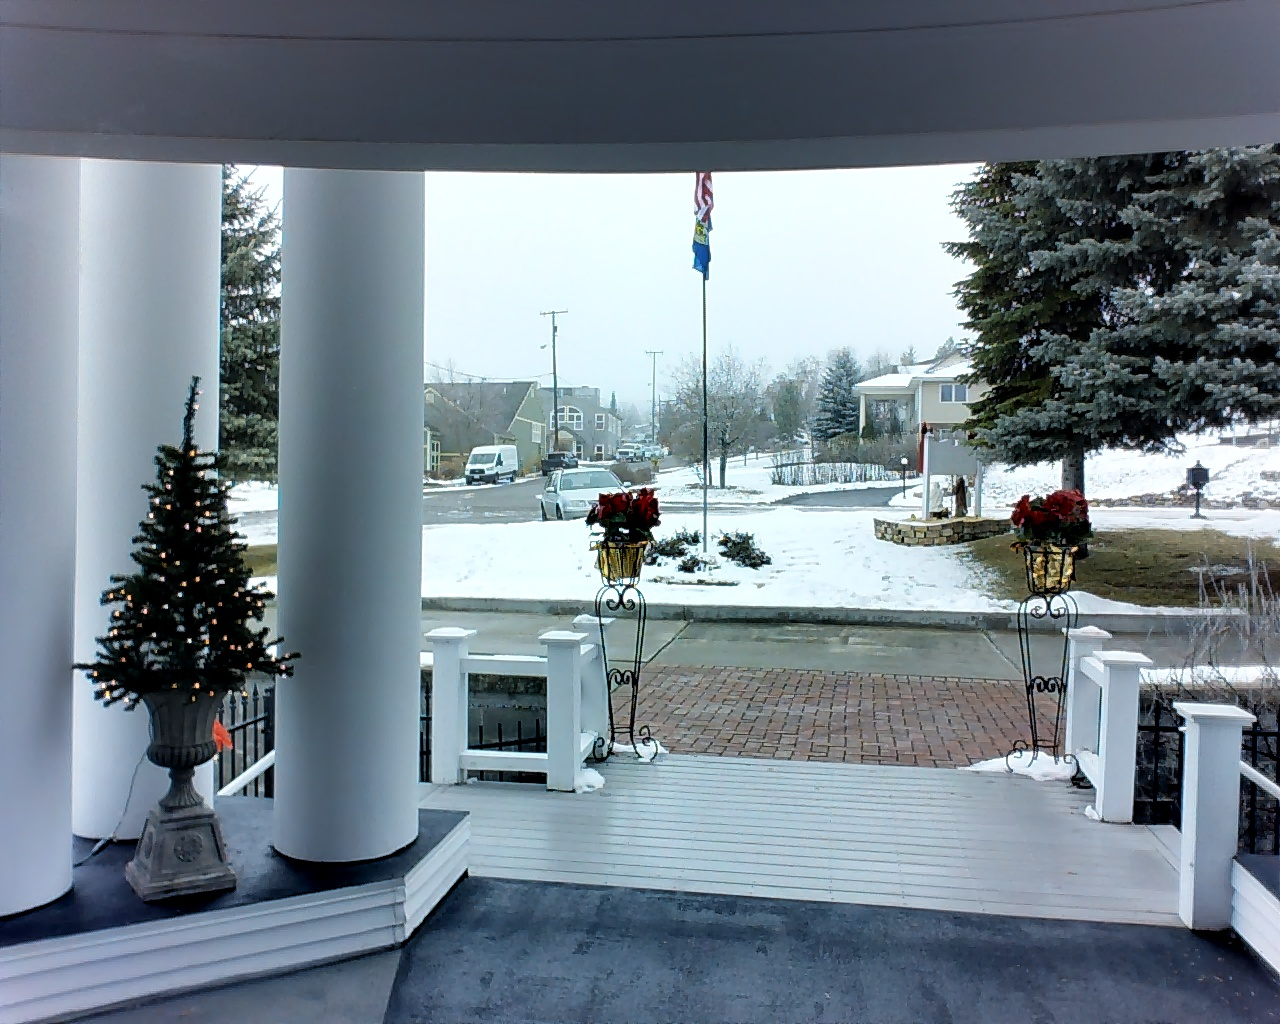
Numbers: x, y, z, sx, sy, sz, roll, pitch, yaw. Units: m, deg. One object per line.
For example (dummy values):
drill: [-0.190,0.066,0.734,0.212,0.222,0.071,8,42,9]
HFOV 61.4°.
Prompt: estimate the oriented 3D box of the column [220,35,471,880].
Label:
column: [-1.120,-0.200,4.220,0.670,3.011,0.660,1,-1,10]

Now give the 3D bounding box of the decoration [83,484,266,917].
decoration: [-1.619,0.600,3.740,0.480,1.370,0.460,1,-1,-34]

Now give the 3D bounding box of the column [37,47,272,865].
column: [-1.939,-0.200,4.300,0.700,2.941,0.560,1,-1,-36]
